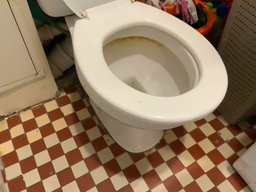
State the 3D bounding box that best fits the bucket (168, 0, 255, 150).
[{"bbox_3d":[0.520,-0.230,0.750,0.460,0.610,0.450,-26,58,-21],"label":"bucket"}]
